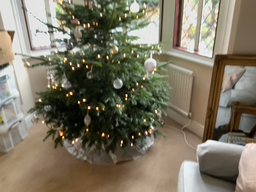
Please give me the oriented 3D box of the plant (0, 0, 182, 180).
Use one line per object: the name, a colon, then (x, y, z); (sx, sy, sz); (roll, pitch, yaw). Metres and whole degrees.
plant: (-0.260, -0.460, 2.210); (1.510, 1.930, 1.300); (5, 26, 12)
